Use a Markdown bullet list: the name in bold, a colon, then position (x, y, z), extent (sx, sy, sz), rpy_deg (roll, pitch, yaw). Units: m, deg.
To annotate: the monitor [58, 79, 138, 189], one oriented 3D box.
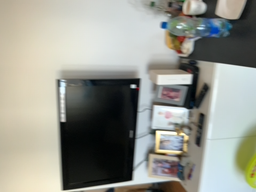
- **monitor**: position (-0.190, 0.270, 1.450), extent (0.050, 0.490, 0.770), rpy_deg (-128, 37, -64)
